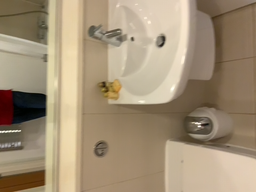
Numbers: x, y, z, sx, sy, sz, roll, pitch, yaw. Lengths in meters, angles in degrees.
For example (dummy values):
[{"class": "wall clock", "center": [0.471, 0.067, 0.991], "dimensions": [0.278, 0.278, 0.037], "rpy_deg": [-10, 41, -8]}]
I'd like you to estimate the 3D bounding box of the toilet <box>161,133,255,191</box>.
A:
[{"class": "toilet", "center": [0.530, 0.430, 1.140], "dimensions": [0.550, 0.430, 0.370], "rpy_deg": [-2, 86, 52]}]
